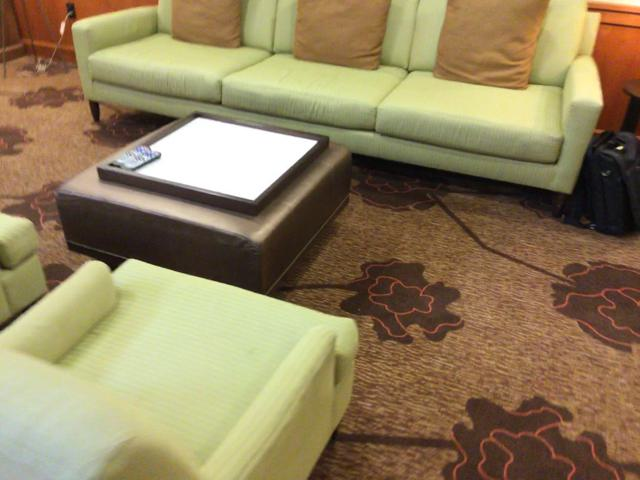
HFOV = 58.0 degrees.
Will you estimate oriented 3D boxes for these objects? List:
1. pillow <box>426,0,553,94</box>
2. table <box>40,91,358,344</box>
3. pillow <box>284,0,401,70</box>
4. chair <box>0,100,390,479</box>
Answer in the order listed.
[{"bbox_3d":[0.890,-1.110,3.030,0.530,0.530,0.200,17,35,16],"label":"pillow"},{"bbox_3d":[-0.440,-0.170,2.440,0.890,0.480,0.910,18,36,16],"label":"table"},{"bbox_3d":[0.130,-1.330,3.320,0.600,0.530,0.250,17,35,16],"label":"pillow"},{"bbox_3d":[-0.400,0.310,1.250,0.760,0.840,0.840,18,36,16],"label":"chair"}]
